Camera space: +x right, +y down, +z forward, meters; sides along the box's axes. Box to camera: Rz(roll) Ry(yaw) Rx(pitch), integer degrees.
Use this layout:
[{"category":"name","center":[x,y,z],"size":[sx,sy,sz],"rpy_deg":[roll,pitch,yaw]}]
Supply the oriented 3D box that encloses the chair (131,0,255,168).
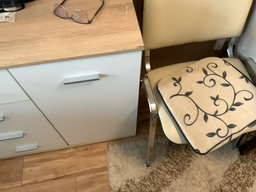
[{"category":"chair","center":[0.320,-0.060,1.040],"size":[0.500,0.810,0.570],"rpy_deg":[-7,61,-5]}]
